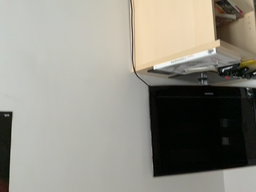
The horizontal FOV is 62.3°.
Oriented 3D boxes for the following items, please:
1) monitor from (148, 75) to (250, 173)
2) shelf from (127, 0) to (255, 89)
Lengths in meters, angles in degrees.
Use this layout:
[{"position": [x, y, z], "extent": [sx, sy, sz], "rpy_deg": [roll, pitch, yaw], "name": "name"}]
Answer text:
[{"position": [0.450, 0.160, 1.310], "extent": [0.670, 0.550, 0.040], "rpy_deg": [2, 172, -17], "name": "monitor"}, {"position": [0.510, -0.480, 1.330], "extent": [0.940, 0.730, 0.480], "rpy_deg": [5, 170, -41], "name": "shelf"}]
